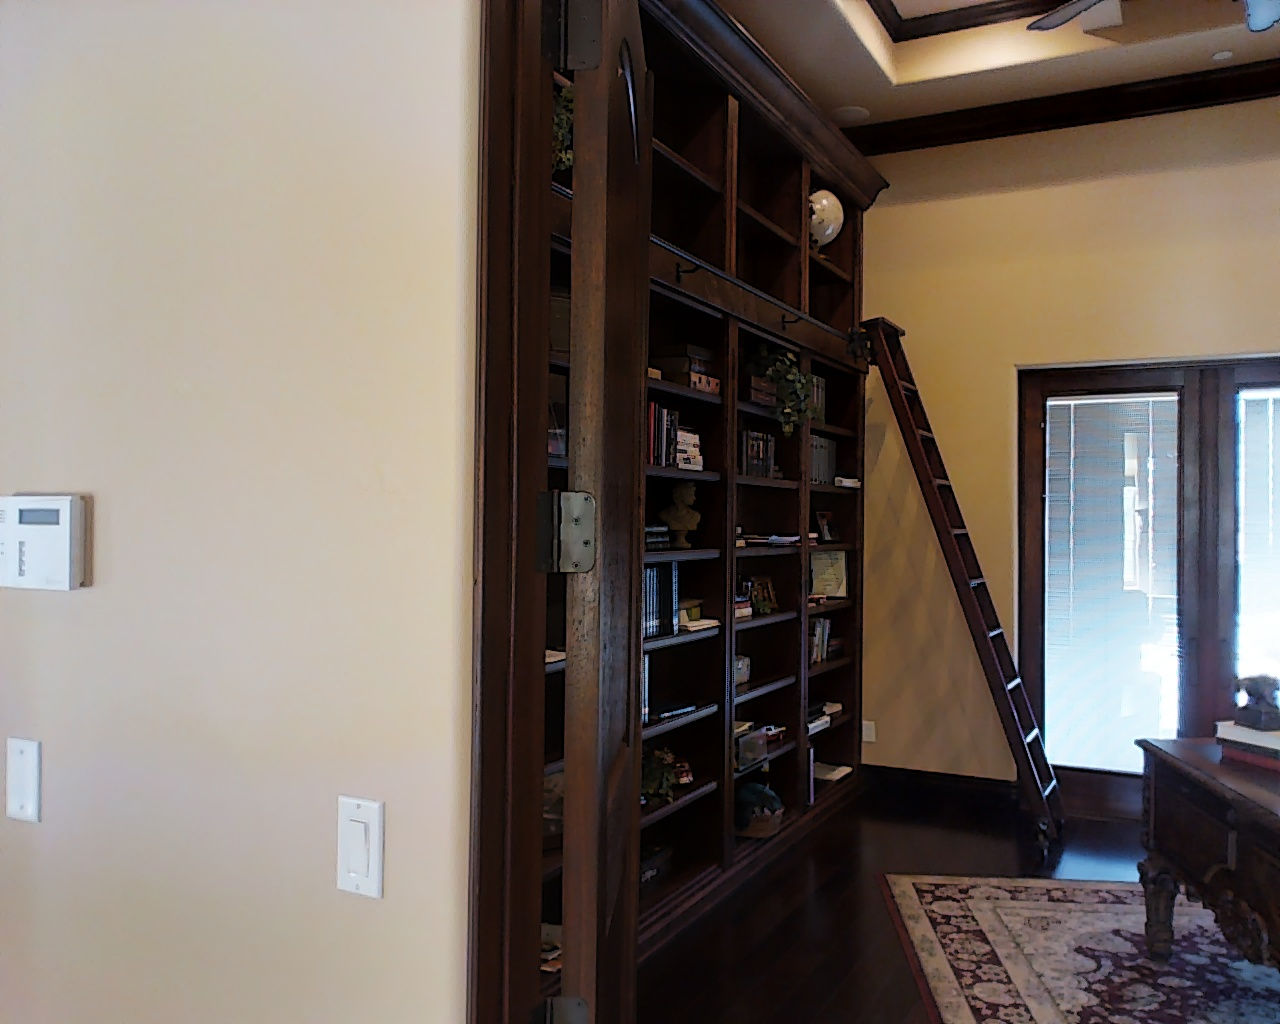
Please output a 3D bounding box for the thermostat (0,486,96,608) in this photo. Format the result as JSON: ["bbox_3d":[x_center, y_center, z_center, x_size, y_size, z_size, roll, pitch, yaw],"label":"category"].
[{"bbox_3d":[-0.890,0.050,1.560,0.250,0.170,0.030,0,-1,28],"label":"thermostat"}]
